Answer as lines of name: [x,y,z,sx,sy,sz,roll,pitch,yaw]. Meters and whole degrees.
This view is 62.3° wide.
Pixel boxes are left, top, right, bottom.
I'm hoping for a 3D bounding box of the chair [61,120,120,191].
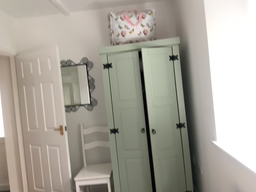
chair: [-0.420,0.840,2.610,0.490,0.970,0.570,-5,1,6]
